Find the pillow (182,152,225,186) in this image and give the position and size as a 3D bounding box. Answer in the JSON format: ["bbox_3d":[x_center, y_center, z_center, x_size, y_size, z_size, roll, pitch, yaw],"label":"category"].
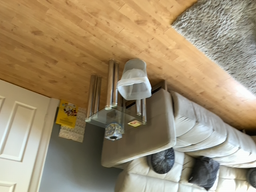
[{"bbox_3d":[1.000,0.970,2.800,0.470,0.330,0.190,22,119,-37],"label":"pillow"}]

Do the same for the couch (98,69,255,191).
[{"bbox_3d":[0.710,0.700,2.590,1.720,1.020,1.120,25,141,-33],"label":"couch"}]
